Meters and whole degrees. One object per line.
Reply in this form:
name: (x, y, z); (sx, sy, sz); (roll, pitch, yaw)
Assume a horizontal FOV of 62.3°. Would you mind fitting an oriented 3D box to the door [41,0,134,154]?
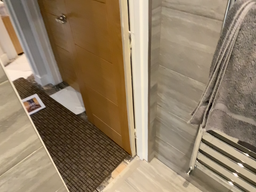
door: (-0.280, -0.430, 1.280); (0.700, 2.030, 0.060); (28, 51, 31)
